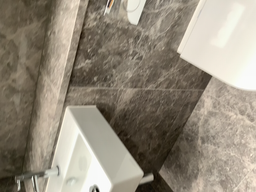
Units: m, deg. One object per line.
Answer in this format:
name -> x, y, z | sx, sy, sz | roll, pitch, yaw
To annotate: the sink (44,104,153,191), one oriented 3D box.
sink -> -0.180, 0.390, 0.860 | 0.380, 0.150, 0.600 | 45, 124, 41
